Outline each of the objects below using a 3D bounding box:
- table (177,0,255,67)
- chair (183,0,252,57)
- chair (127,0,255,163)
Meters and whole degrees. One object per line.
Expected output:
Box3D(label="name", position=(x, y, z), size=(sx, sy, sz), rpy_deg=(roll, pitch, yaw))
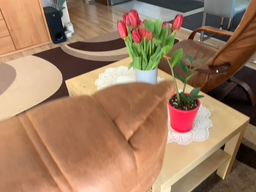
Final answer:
Box3D(label="table", position=(1.460, -0.960, 2.500), size=(0.840, 0.760, 1.500), rpy_deg=(-25, 42, -26))
Box3D(label="chair", position=(1.080, -1.070, 2.520), size=(0.620, 0.950, 0.450), rpy_deg=(-26, 41, -28))
Box3D(label="chair", position=(0.550, -0.310, 1.460), size=(0.670, 1.010, 0.870), rpy_deg=(-31, 44, -33))
